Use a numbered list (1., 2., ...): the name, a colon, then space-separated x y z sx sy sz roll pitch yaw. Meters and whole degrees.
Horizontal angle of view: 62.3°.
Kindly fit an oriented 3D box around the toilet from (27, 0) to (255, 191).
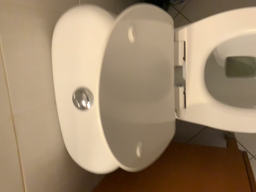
1. toilet: 0.270 -0.080 0.680 0.700 0.760 0.370 2 103 21
